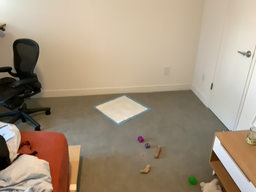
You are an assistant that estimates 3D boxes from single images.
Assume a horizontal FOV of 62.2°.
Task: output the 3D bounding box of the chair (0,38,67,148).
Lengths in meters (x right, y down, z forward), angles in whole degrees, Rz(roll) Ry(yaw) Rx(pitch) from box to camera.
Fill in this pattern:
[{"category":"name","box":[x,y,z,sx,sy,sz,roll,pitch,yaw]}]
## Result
[{"category":"chair","box":[-1.320,-0.100,2.480,0.730,0.920,0.760,20,33,32]}]
